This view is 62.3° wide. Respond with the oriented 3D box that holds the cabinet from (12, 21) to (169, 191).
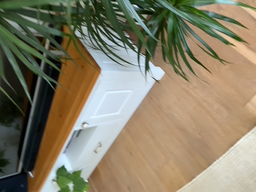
[{"bbox_3d":[-0.390,0.260,1.580,0.380,0.530,1.490,53,127,28],"label":"cabinet"}]
